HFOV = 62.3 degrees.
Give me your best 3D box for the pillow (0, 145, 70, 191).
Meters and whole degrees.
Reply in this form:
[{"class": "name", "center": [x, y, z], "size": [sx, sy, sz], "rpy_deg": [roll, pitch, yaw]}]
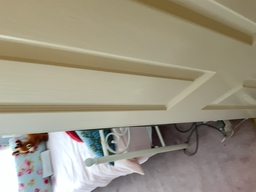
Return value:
[{"class": "pillow", "center": [-1.100, 1.000, 2.550], "size": [0.620, 0.470, 0.180], "rpy_deg": [43, 142, 5]}]
